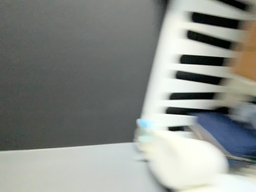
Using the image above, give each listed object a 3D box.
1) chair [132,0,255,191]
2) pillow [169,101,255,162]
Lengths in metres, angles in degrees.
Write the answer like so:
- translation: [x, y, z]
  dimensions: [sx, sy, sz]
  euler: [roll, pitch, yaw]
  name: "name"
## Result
- translation: [0.670, -0.180, 1.100]
  dimensions: [0.710, 0.870, 1.220]
  euler: [-137, 54, -58]
  name: "chair"
- translation: [0.520, 0.180, 1.280]
  dimensions: [0.510, 0.270, 0.130]
  euler: [-143, 59, -59]
  name: "pillow"
